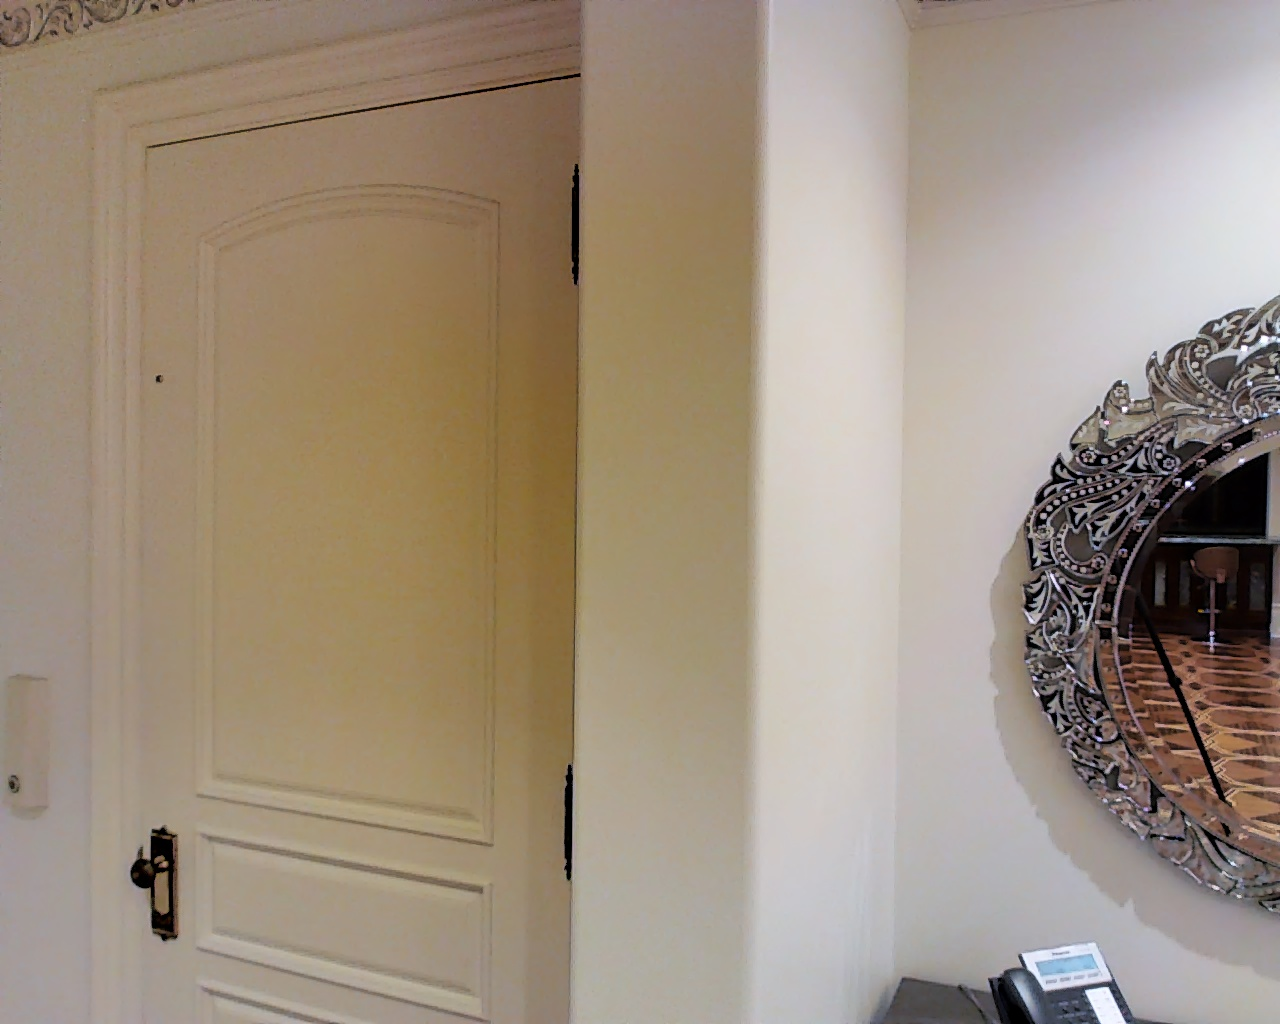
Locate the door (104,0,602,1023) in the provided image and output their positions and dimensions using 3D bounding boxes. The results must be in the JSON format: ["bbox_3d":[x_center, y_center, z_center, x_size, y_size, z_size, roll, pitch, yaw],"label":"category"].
[{"bbox_3d":[-0.550,0.400,1.870,1.020,2.371,0.050,1,1,24],"label":"door"}]
